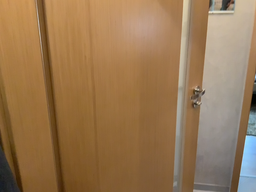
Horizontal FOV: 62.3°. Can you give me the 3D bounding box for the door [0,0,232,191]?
[{"bbox_3d":[0.050,0.190,0.920,1.030,2.190,0.150,-13,20,-36],"label":"door"}]
